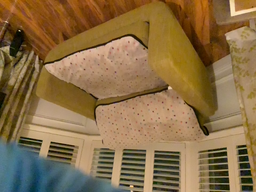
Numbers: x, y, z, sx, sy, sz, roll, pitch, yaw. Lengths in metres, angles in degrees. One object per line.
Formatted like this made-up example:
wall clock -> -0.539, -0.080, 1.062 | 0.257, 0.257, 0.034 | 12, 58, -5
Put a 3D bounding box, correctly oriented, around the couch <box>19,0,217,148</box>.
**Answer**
couch -> 0.000, -0.100, 1.800 | 1.150, 0.850, 1.030 | -10, 151, 34
